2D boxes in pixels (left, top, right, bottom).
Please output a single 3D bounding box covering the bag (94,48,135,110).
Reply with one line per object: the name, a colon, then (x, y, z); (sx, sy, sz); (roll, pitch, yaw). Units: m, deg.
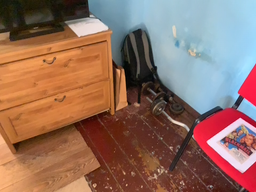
bag: (-0.130, -0.160, 1.950); (0.200, 0.400, 0.370); (-19, 46, -23)
